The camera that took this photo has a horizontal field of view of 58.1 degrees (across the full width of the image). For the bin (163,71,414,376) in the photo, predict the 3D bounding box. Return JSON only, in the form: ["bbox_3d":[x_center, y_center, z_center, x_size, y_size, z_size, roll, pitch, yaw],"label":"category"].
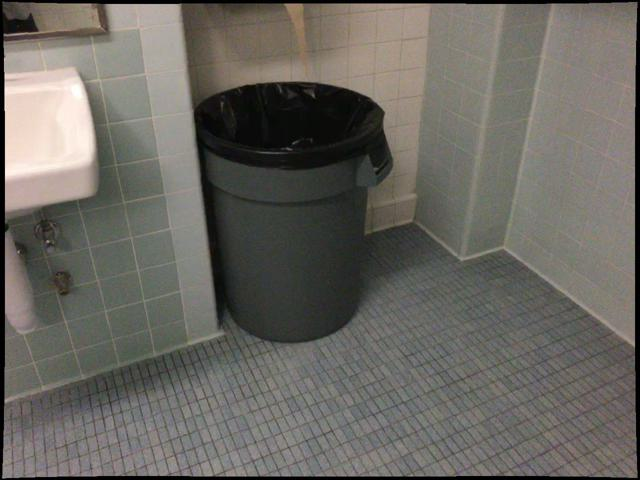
[{"bbox_3d":[-0.130,-0.090,1.900,0.549,0.701,0.600,-14,37,-23],"label":"bin"}]
